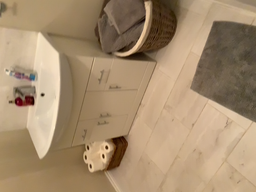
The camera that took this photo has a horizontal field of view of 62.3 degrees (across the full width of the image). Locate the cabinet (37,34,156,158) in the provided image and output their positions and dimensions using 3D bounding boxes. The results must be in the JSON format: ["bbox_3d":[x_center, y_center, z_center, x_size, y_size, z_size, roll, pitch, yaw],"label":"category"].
[{"bbox_3d":[-0.290,0.000,1.840,0.360,0.770,0.870,43,124,39],"label":"cabinet"}]
